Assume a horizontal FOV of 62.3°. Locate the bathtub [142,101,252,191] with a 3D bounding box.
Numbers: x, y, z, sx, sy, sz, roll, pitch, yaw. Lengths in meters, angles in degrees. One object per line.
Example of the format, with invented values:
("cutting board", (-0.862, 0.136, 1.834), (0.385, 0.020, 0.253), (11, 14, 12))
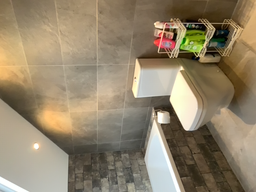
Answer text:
("bathtub", (0.700, 1.110, 1.930), (2.230, 0.560, 0.810), (-105, 17, -47))
